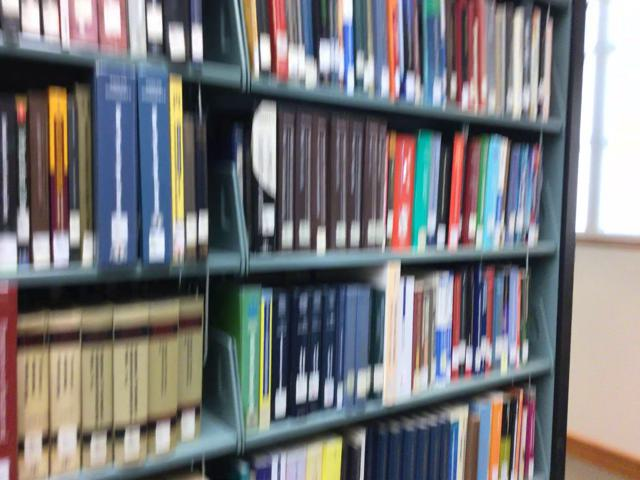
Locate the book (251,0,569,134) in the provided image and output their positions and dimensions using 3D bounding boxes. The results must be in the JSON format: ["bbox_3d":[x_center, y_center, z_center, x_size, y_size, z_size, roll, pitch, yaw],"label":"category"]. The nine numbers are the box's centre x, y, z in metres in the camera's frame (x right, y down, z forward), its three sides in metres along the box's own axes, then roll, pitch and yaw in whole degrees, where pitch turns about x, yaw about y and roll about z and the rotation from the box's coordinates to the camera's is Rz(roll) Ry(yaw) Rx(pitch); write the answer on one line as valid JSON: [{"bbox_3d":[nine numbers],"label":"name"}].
[{"bbox_3d":[0.250,-0.410,1.230,0.850,0.310,0.090,-4,4,-36],"label":"book"}]

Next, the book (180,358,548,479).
[{"bbox_3d":[0.160,0.530,1.330,0.910,0.320,0.220,-4,4,-36],"label":"book"}]

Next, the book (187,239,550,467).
[{"bbox_3d":[0.170,0.190,1.310,0.900,0.330,0.200,-4,4,-36],"label":"book"}]

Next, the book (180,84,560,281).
[{"bbox_3d":[0.170,-0.120,1.310,0.910,0.320,0.250,-4,4,-36],"label":"book"}]

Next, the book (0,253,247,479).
[{"bbox_3d":[-0.580,0.220,0.810,0.930,0.330,0.250,-4,4,-36],"label":"book"}]
